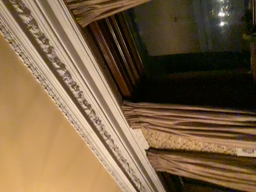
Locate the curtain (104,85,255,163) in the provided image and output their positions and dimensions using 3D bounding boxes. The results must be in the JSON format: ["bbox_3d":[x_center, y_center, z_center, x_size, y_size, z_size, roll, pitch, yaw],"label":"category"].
[{"bbox_3d":[1.350,0.260,1.870,0.490,3.330,0.530,-61,-41,-40],"label":"curtain"}]
